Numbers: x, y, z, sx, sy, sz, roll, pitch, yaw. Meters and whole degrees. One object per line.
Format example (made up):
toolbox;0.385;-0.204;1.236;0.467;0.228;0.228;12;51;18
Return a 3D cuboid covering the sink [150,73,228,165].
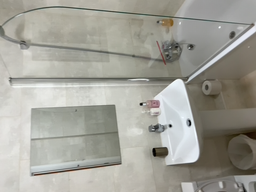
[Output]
sink;0.400;0.180;1.550;0.420;0.250;0.570;130;135;-63

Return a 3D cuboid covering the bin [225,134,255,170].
bin;1.010;0.450;1.720;0.250;0.250;0.250;131;134;-64
